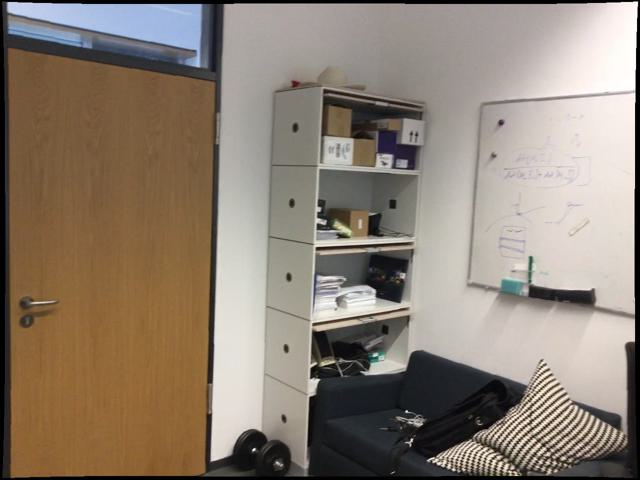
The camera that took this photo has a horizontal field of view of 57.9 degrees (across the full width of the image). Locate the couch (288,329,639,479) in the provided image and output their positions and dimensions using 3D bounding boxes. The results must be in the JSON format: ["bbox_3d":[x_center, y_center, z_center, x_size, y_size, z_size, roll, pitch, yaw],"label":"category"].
[{"bbox_3d":[0.639,0.981,2.720,0.810,0.671,1.509,-3,9,-40],"label":"couch"}]

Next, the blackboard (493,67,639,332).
[{"bbox_3d":[1.439,-0.150,2.330,0.130,1.081,1.519,-3,9,-40],"label":"blackboard"}]

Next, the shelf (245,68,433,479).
[{"bbox_3d":[0.100,0.180,3.290,0.830,2.082,0.510,-3,9,-40],"label":"shelf"}]
